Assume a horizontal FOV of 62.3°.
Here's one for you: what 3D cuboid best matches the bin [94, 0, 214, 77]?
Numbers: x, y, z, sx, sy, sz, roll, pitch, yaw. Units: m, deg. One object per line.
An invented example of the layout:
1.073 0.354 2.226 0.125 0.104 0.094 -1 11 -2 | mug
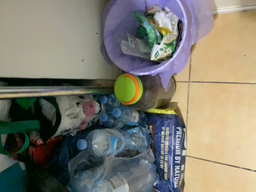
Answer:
0.100 -0.210 0.770 0.330 0.290 0.270 5 96 33 | bin
